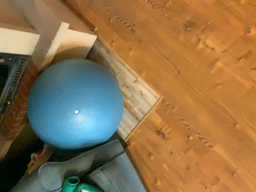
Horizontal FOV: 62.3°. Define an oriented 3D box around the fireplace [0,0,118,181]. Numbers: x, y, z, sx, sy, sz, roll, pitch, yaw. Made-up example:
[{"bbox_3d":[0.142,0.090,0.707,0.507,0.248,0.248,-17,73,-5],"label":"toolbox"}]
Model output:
[{"bbox_3d":[-0.970,-0.050,1.270,0.710,1.180,1.320,46,115,19],"label":"fireplace"}]
